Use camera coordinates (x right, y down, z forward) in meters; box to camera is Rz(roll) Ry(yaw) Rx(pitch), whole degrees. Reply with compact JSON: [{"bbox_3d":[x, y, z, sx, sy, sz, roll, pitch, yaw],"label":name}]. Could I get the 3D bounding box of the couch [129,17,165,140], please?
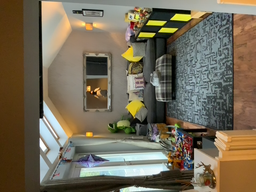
[{"bbox_3d":[0.450,-0.400,5.470,1.200,0.630,2.780,-176,86,-81],"label":"couch"}]
